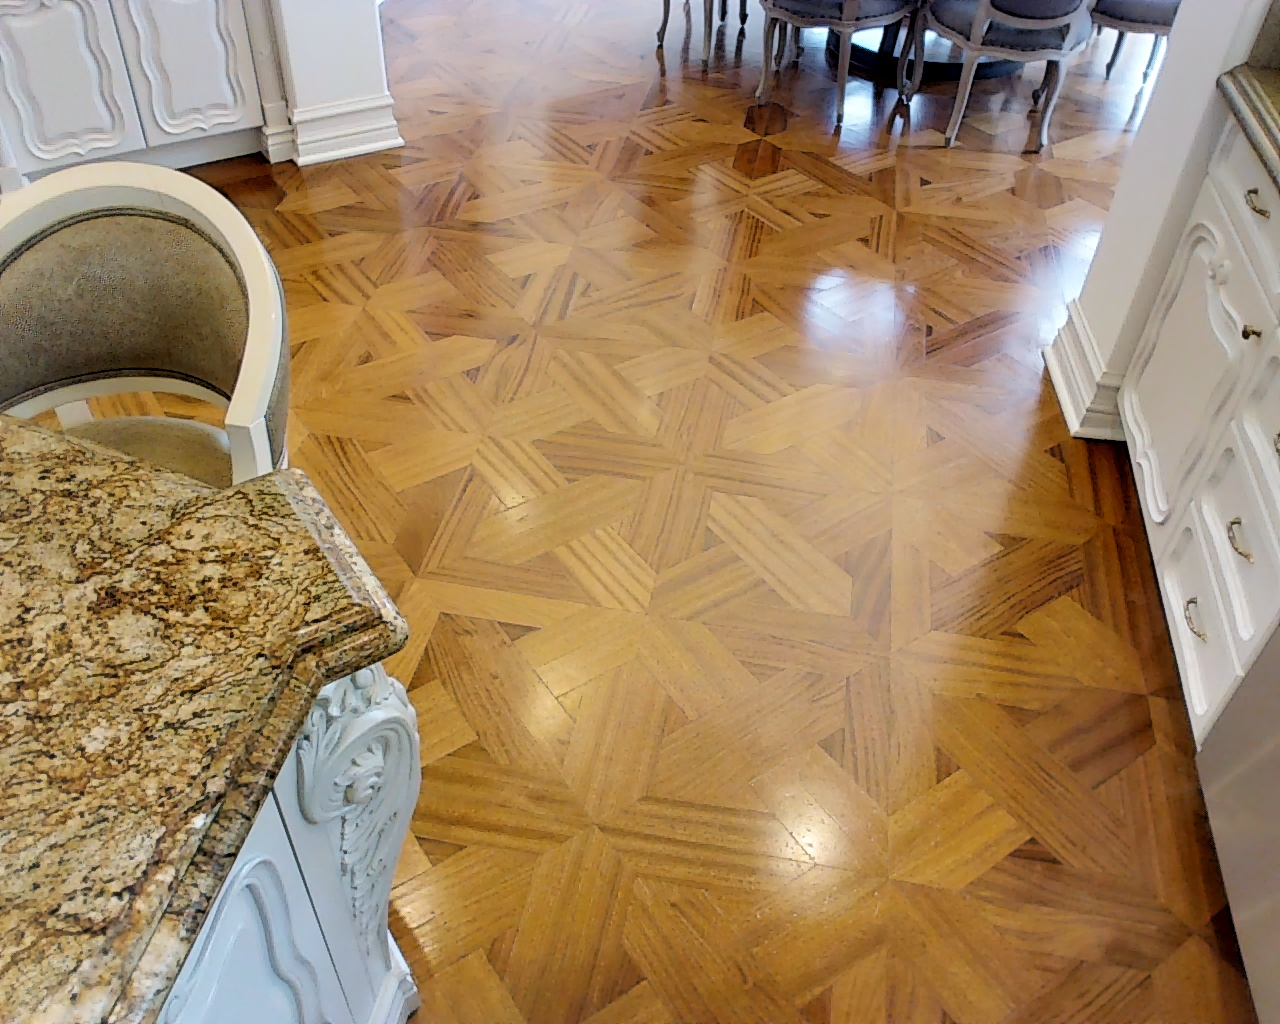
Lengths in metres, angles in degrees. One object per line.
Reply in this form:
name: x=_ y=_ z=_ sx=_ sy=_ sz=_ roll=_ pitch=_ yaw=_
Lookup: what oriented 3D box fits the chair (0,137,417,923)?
chair: x=-0.730 y=0.070 z=1.640 sx=0.510 sy=1.040 sz=0.540 roll=9 pitch=42 yaw=7
